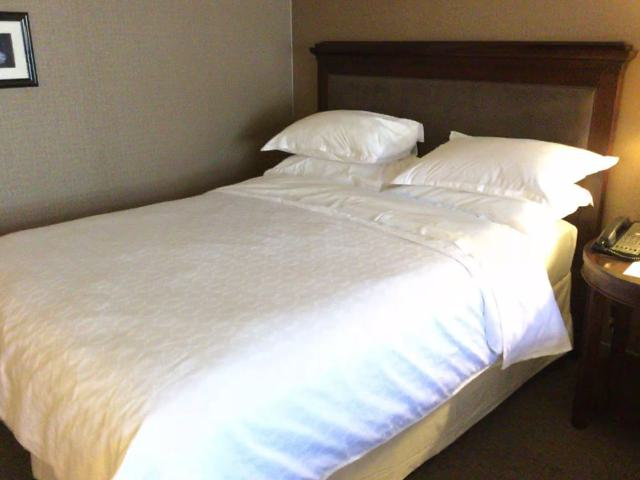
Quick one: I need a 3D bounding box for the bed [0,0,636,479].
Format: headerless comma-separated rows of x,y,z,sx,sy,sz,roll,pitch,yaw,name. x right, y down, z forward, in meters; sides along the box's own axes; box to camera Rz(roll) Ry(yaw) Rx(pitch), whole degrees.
-0.190,-0.010,2.250,2.160,1.440,1.770,-16,22,-42,bed

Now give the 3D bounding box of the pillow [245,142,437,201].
0.090,-0.370,2.930,0.540,0.150,0.820,-16,22,-42,pillow

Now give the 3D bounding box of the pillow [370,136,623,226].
0.700,-0.280,2.400,0.500,0.210,0.860,-16,22,-42,pillow

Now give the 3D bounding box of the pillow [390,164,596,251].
0.700,-0.160,2.400,0.460,0.190,0.670,-16,22,-42,pillow

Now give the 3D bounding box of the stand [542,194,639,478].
1.240,0.320,2.030,0.650,0.800,0.580,-16,22,-42,stand

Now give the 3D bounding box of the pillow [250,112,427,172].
0.080,-0.520,2.940,0.470,0.210,0.780,-16,22,-42,pillow
